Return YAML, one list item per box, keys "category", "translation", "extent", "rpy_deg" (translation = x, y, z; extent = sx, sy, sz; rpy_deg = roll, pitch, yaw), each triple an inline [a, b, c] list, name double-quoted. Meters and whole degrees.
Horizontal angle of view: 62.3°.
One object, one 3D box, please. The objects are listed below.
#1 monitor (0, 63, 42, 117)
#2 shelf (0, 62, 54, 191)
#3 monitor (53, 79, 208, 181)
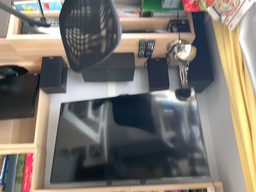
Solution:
- category: "monitor"
  translation: [-0.930, -0.040, 1.580]
  extent: [0.540, 0.390, 0.040]
  rpy_deg: [-4, 161, 5]
- category: "shelf"
  translation: [-0.920, 0.380, 1.480]
  extent: [0.640, 1.250, 0.210]
  rpy_deg: [-2, 161, -3]
- category: "monitor"
  translation: [-0.030, 0.220, 1.340]
  extent: [0.930, 0.520, 0.060]
  rpy_deg: [-8, 165, 10]
